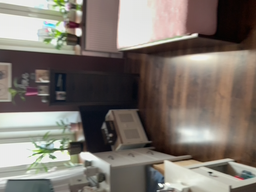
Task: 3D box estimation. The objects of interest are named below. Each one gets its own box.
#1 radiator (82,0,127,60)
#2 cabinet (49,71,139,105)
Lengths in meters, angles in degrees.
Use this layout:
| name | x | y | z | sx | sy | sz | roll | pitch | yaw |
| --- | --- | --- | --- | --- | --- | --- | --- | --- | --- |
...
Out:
| name | x | y | z | sx | sy | sz | roll | pitch | yaw |
| --- | --- | --- | --- | --- | --- | --- | --- | --- | --- |
| radiator | -0.390 | -1.200 | 3.580 | 0.230 | 0.680 | 1.110 | -163 | 74 | -64 |
| cabinet | -0.520 | -0.120 | 3.310 | 0.480 | 1.300 | 0.450 | -168 | 79 | -65 |
